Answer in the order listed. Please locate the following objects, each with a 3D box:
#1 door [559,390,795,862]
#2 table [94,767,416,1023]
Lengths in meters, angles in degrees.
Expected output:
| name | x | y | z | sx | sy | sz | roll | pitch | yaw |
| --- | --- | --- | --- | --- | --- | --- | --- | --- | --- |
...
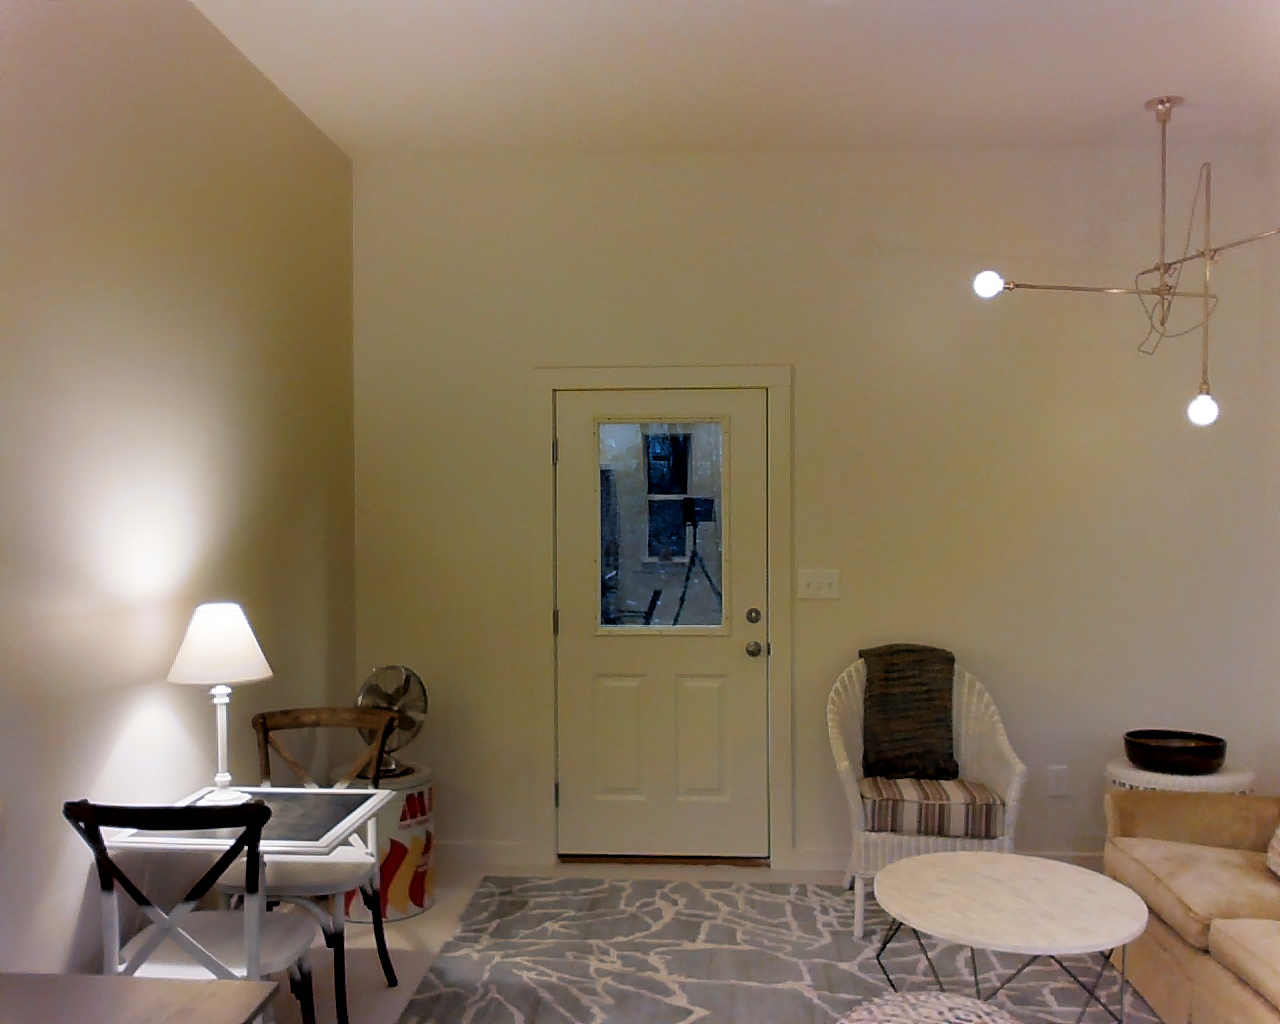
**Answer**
| name | x | y | z | sx | sy | sz | roll | pitch | yaw |
| --- | --- | --- | --- | --- | --- | --- | --- | --- | --- |
| door | 0.160 | 0.490 | 4.680 | 1.010 | 2.020 | 0.090 | 0 | 1 | 4 |
| table | -1.010 | 1.150 | 2.950 | 0.630 | 0.740 | 0.630 | 0 | 1 | 3 |
